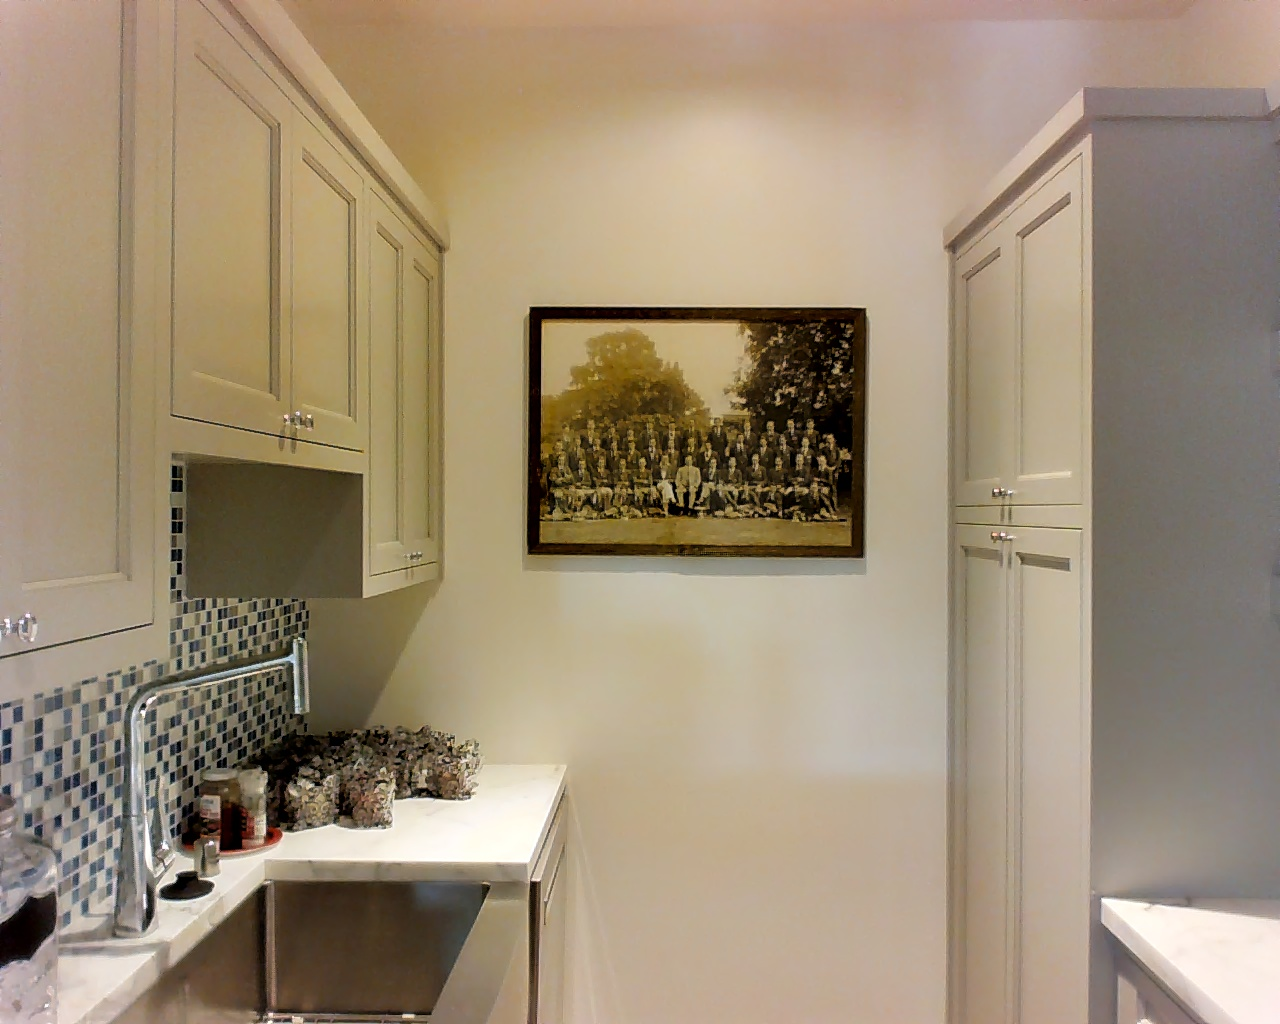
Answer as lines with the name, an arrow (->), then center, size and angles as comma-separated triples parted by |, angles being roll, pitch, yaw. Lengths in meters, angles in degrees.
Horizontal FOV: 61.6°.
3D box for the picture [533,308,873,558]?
picture -> 0.150, -0.190, 2.610 | 0.820, 0.600, 0.030 | 0, 0, 2
